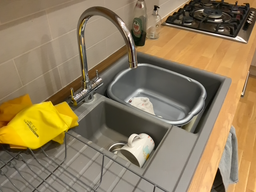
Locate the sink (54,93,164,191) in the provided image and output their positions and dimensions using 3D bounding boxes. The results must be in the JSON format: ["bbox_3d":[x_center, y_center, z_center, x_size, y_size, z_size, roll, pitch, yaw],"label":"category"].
[{"bbox_3d":[-0.060,0.150,0.730,0.290,0.150,0.200,21,43,23],"label":"sink"}]

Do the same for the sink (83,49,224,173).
[{"bbox_3d":[0.120,0.020,0.940,0.450,0.210,0.400,21,43,23],"label":"sink"}]
